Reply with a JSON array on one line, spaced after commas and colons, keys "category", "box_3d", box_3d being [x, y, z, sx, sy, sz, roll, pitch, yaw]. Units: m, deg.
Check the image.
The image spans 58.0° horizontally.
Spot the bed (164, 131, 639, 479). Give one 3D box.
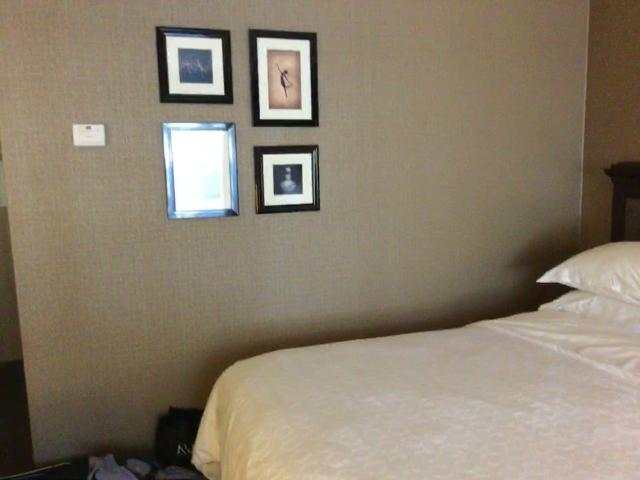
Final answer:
[{"category": "bed", "box_3d": [0.680, 0.490, 1.820, 2.160, 1.440, 1.770, -3, 4, -16]}]

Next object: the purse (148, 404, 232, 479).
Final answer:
[{"category": "purse", "box_3d": [-0.570, 0.900, 2.540, 0.340, 0.280, 0.120, -3, 4, -16]}]
